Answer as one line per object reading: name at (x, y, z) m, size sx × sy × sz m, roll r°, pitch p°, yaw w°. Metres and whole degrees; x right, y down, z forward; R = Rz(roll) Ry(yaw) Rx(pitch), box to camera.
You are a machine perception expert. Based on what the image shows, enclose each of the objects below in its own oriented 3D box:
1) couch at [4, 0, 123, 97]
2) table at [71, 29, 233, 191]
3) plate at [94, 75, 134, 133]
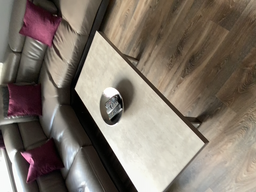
couch at (-0.870, -0.870, 2.530) m, size 1.180 × 0.700 × 1.300 m, roll 50°, pitch 125°, yaw 35°
table at (0.050, 0.080, 1.770) m, size 1.310 × 0.390 × 0.670 m, roll 50°, pitch 125°, yaw 35°
plate at (-0.120, 0.060, 1.630) m, size 0.310 × 0.040 × 0.320 m, roll 52°, pitch 126°, yaw 33°
